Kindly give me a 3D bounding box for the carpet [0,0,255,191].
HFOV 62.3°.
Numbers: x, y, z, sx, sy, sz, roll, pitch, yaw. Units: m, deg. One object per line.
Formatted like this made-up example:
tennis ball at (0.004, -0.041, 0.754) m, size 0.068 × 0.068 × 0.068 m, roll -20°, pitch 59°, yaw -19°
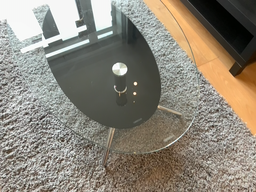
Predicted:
carpet at (-0.160, 0.000, 1.190) m, size 1.230 × 0.070 × 1.720 m, roll -25°, pitch 65°, yaw -13°
